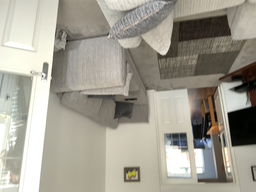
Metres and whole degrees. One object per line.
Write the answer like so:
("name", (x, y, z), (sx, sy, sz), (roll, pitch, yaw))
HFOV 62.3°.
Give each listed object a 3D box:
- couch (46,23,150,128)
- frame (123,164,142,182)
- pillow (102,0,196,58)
("couch", (-0.270, -0.100, 3.540), (0.920, 0.870, 2.210), (-6, 162, 12))
("frame", (0.090, 1.560, 4.310), (0.360, 0.320, 0.140), (-3, 162, 6))
("pillow", (0.100, -0.450, 1.160), (0.410, 0.290, 0.270), (-16, 157, 39))
